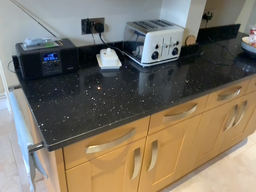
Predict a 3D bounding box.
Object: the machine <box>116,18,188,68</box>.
[{"bbox_3d":[0.140,-0.350,1.340,0.310,0.190,0.300,-17,39,-30],"label":"machine"}]
